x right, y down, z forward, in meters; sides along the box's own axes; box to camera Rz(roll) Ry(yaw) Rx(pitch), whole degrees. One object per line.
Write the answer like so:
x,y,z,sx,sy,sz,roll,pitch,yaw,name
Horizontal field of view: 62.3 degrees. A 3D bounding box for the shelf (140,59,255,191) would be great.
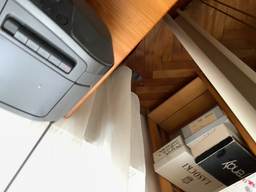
0.370,0.560,0.450,0.280,2.040,0.430,38,113,-24,shelf
